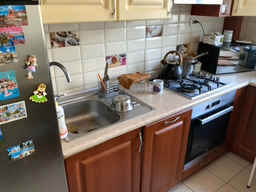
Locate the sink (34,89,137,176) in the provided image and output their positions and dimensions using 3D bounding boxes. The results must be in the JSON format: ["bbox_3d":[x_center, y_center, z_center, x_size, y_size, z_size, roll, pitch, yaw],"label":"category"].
[{"bbox_3d":[-0.290,0.180,1.380,0.440,0.210,0.550,-16,29,-33],"label":"sink"}]
